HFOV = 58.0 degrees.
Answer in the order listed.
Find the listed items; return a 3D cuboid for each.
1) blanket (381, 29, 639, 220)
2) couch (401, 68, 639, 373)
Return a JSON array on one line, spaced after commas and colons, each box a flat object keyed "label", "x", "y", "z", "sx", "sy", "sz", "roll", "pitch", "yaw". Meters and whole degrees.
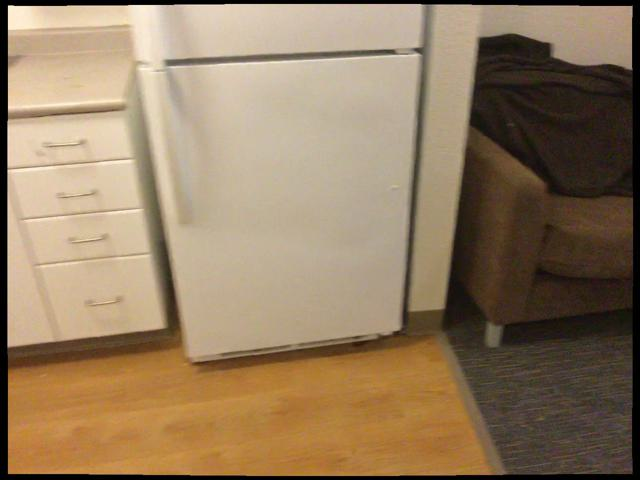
[{"label": "blanket", "x": 0.988, "y": -0.491, "z": 2.280, "sx": 1.357, "sy": 0.521, "sz": 0.560, "roll": -4, "pitch": 32, "yaw": -8}, {"label": "couch", "x": 1.307, "y": -0.170, "z": 2.290, "sx": 1.707, "sy": 0.751, "sz": 0.930, "roll": -4, "pitch": 32, "yaw": -8}]
